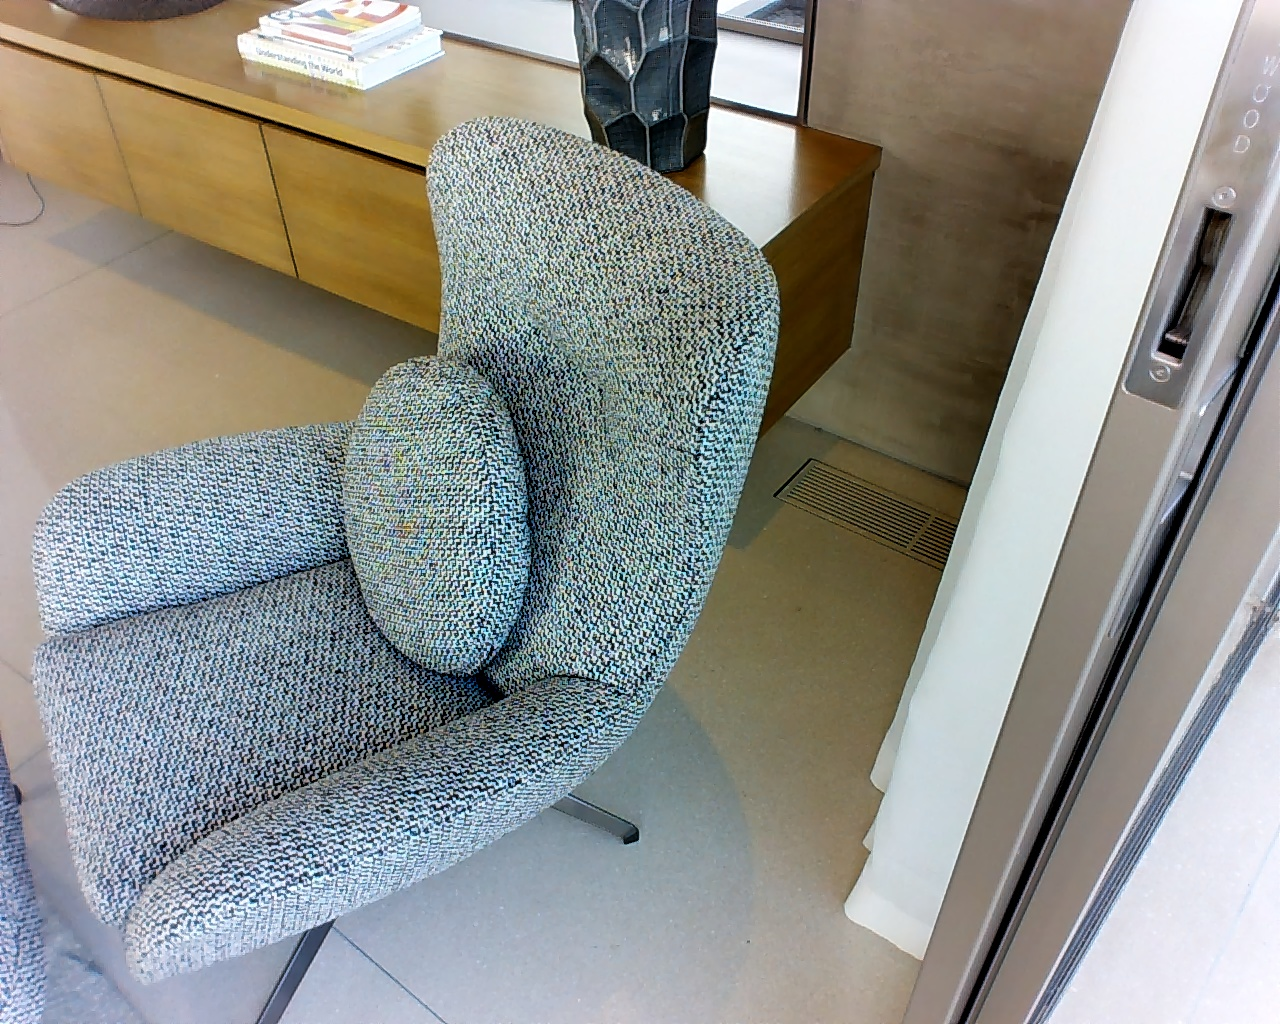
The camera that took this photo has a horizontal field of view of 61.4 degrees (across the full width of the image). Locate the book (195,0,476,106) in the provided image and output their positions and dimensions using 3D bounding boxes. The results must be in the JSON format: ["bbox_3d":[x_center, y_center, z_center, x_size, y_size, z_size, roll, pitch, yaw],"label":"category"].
[{"bbox_3d":[-0.680,-1.080,2.420,0.500,0.120,0.350,25,47,26],"label":"book"}]

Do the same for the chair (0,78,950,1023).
[{"bbox_3d":[-0.350,0.100,1.490,1.000,0.920,0.910,-22,46,-23],"label":"chair"}]
